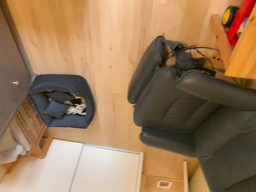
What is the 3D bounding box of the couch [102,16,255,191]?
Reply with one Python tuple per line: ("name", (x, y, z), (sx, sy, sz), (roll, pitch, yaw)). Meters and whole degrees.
("couch", (0.380, 0.200, 1.390), (0.820, 0.930, 0.820), (16, 138, -6))
